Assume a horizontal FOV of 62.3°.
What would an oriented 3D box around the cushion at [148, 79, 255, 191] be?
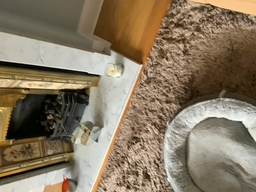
[{"bbox_3d":[0.460,0.300,1.100,0.680,0.120,0.710,10,95,38],"label":"cushion"}]
